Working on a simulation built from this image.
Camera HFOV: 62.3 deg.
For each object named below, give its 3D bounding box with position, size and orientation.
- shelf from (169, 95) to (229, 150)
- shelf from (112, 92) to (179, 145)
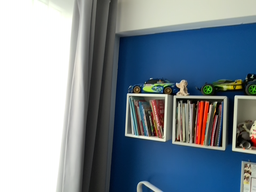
[{"bbox_3d":[0.530,0.180,1.580,0.370,0.350,0.230,3,-2,30],"label":"shelf"},{"bbox_3d":[0.150,0.170,1.800,0.490,0.380,0.240,3,-2,29],"label":"shelf"}]
